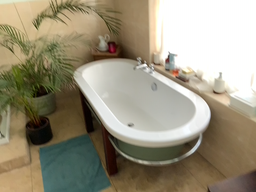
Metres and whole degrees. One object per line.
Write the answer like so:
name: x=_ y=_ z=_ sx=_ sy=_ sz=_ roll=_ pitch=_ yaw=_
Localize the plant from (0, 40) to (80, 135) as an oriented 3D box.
plant: x=-1.150 y=-0.150 z=2.520 sx=0.910 sy=0.760 sz=0.680 roll=-15 pitch=30 yaw=-18
